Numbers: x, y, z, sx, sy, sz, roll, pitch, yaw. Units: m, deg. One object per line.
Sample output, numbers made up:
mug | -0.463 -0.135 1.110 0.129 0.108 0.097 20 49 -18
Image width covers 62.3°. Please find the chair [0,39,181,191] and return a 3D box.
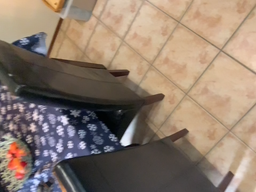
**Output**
chair | -0.240 0.120 1.300 0.430 1.190 0.660 36 113 29
